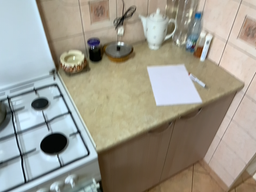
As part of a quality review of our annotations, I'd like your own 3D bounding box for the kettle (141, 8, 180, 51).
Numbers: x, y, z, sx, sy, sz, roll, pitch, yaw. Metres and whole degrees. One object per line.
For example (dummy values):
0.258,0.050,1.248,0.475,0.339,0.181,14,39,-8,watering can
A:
0.190,-0.400,1.280,0.170,0.190,0.120,-18,47,-19,kettle
